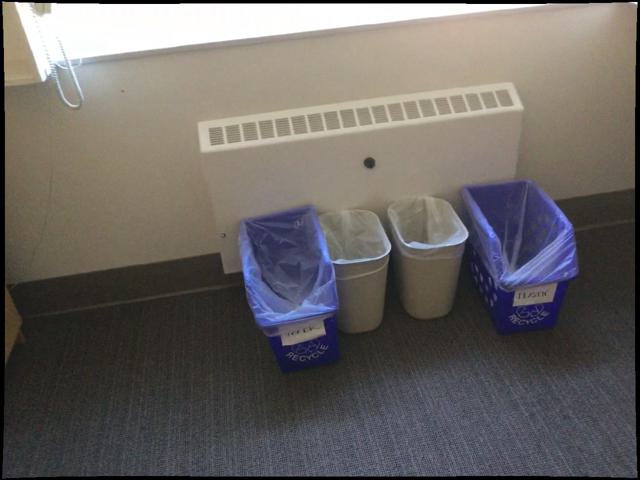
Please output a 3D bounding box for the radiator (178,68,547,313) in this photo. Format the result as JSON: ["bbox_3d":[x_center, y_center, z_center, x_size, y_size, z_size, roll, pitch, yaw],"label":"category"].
[{"bbox_3d":[0.160,-0.160,1.960,1.137,0.631,0.170,-11,34,-7],"label":"radiator"}]

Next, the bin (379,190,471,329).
[{"bbox_3d":[0.339,0.060,1.930,0.219,0.321,0.310,-8,34,-2],"label":"bin"}]

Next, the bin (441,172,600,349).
[{"bbox_3d":[0.618,0.050,1.880,0.289,0.341,0.440,-11,34,-7],"label":"bin"}]

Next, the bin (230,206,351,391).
[{"bbox_3d":[-0.100,0.170,1.820,0.279,0.351,0.420,-11,34,-7],"label":"bin"}]

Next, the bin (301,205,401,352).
[{"bbox_3d":[0.100,0.120,1.890,0.239,0.321,0.310,-11,34,-7],"label":"bin"}]

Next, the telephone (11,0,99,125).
[{"bbox_3d":[-0.728,-0.561,1.560,0.100,0.461,0.140,-11,34,-7],"label":"telephone"}]
